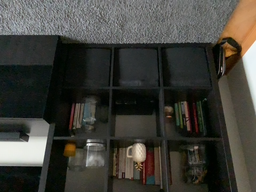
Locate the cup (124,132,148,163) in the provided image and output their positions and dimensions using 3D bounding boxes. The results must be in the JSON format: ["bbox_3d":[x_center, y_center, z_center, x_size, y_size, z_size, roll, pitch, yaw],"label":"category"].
[{"bbox_3d":[0.050,0.350,1.430,0.150,0.180,0.130,0,155,1],"label":"cup"}]
